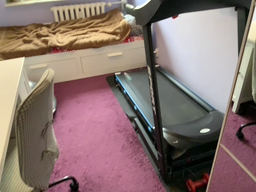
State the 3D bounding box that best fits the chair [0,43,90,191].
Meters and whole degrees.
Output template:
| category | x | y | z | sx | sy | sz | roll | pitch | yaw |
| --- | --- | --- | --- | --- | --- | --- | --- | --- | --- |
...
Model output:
| category | x | y | z | sx | sy | sz | roll | pitch | yaw |
| --- | --- | --- | --- | --- | --- | --- | --- | --- | --- |
| chair | -0.620 | 0.290 | 1.120 | 0.630 | 0.910 | 0.660 | -3 | 33 | 0 |
